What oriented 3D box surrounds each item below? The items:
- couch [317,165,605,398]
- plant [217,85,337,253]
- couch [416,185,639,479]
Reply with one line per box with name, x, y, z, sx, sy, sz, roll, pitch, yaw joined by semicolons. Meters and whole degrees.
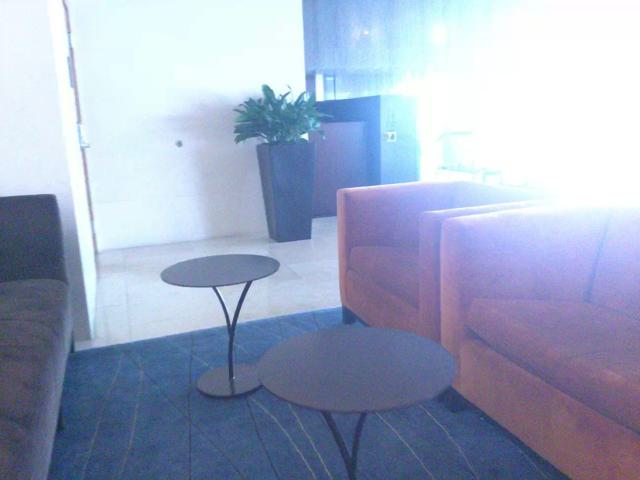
couch;0.620;0.090;2.840;0.890;0.780;1.070;-9;12;-20
plant;-0.380;-0.630;5.000;0.770;1.280;0.690;-9;12;-17
couch;0.970;0.300;1.840;0.840;0.780;1.090;-9;12;-20
